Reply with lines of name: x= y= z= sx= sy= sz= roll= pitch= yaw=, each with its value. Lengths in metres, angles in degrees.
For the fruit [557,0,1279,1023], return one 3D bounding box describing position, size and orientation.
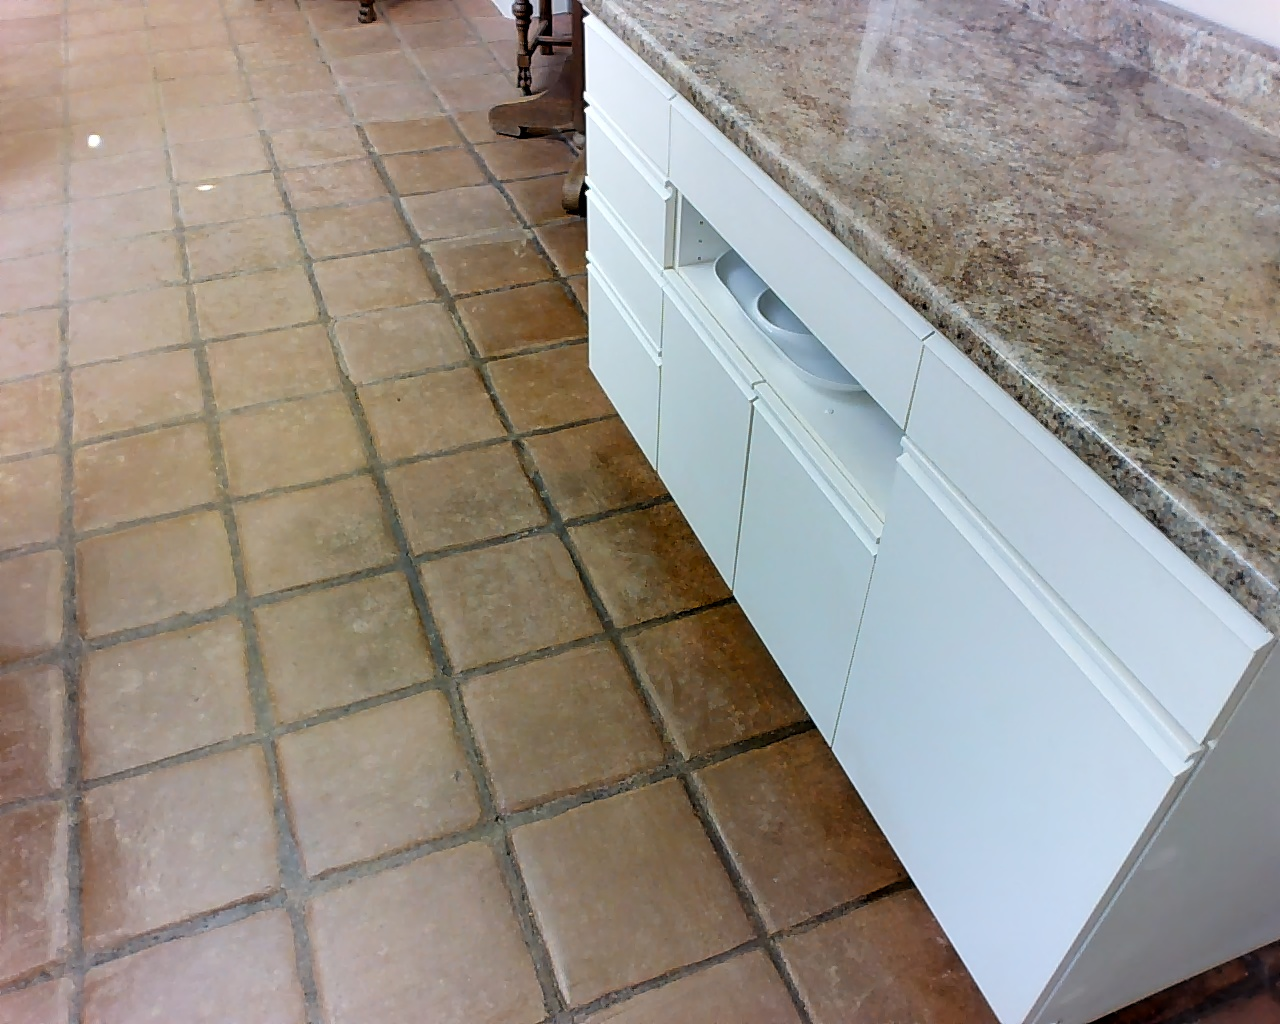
fruit: x=0.450 y=-0.160 z=1.670 sx=0.650 sy=0.930 sz=1.600 roll=-15 pitch=45 yaw=-16
